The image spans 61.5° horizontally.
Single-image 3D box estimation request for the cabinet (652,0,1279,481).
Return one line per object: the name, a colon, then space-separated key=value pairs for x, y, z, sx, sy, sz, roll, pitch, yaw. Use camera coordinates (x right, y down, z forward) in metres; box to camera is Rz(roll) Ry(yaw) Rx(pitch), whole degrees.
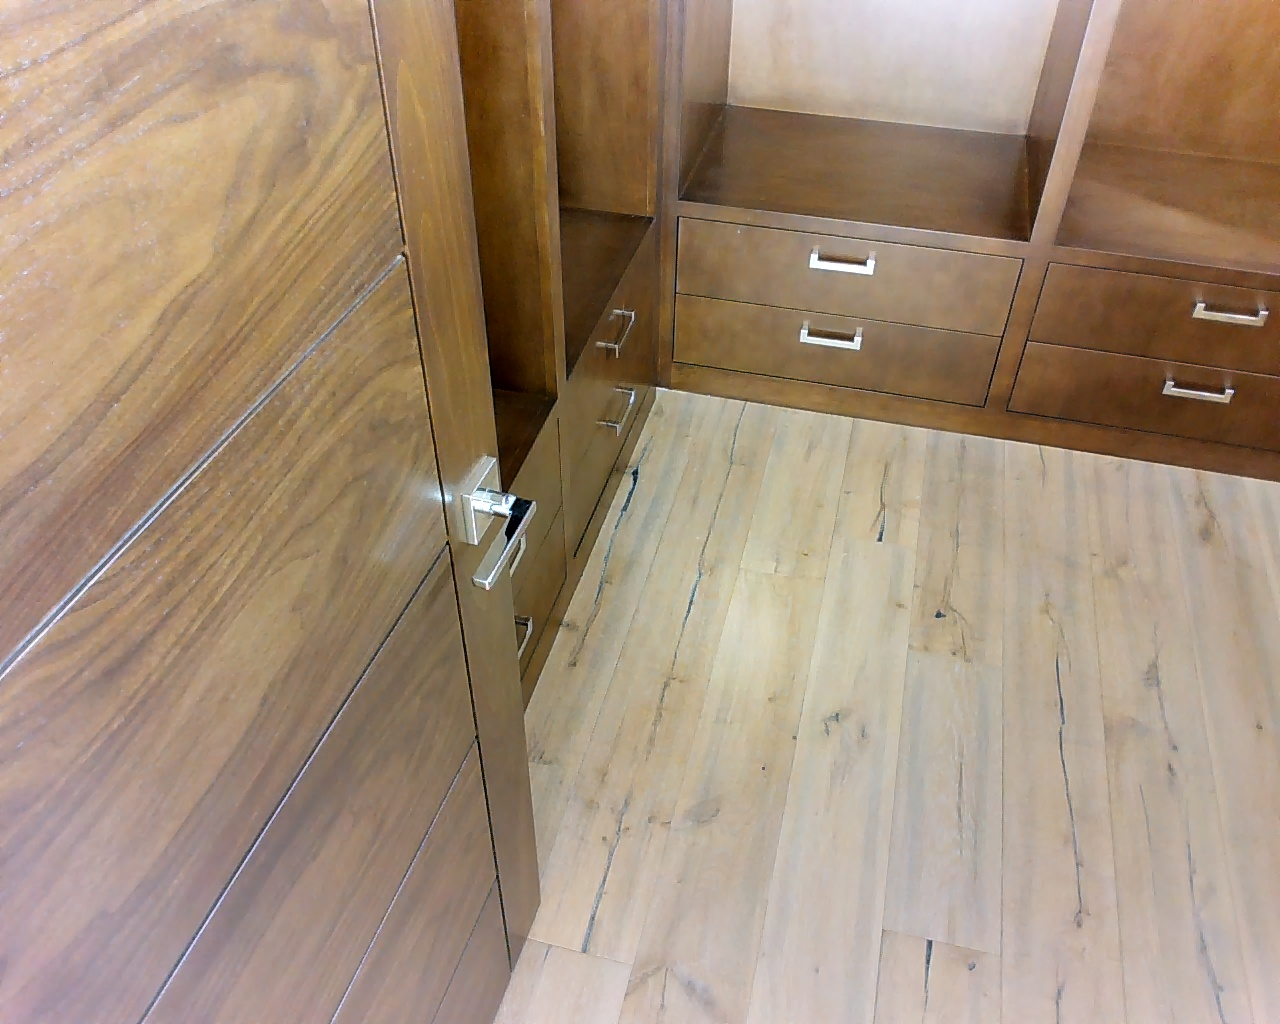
cabinet: x=0.930 y=-1.230 z=2.130 sx=1.660 sy=2.240 sz=0.630 roll=10 pitch=43 yaw=10
